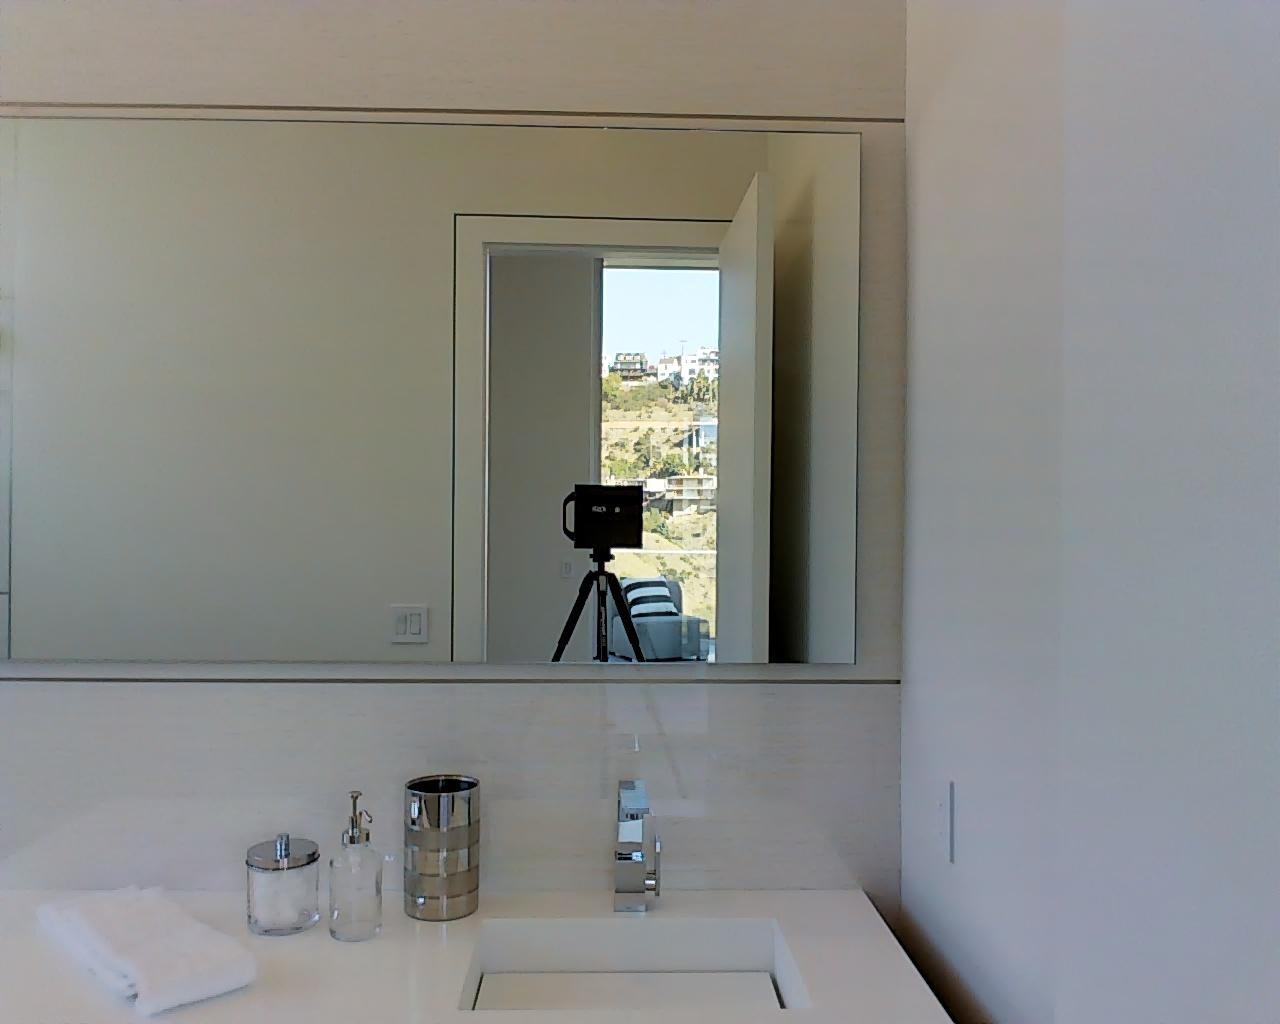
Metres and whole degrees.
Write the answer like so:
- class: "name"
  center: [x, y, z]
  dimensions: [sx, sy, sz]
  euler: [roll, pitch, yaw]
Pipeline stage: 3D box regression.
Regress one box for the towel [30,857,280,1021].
- class: "towel"
  center: [-0.700, 0.590, 1.530]
  dimensions: [0.450, 0.060, 0.170]
  euler: [0, 0, 44]
